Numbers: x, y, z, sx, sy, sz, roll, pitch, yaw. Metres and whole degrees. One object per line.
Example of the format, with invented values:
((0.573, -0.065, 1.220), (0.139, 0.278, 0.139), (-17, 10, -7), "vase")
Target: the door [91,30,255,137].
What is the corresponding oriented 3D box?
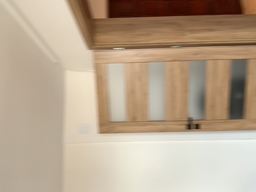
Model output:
((0.710, -0.120, 2.080), (0.150, 2.050, 0.980), (-94, 3, -78), "door")
